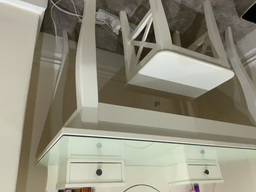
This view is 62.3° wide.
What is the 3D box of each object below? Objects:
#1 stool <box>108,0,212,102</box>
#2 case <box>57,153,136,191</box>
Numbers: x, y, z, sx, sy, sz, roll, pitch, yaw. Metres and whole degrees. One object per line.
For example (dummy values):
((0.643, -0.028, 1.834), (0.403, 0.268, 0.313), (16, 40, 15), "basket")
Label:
((0.140, -0.250, 1.080), (0.410, 0.460, 0.230), (9, 152, -27), "stool")
((-0.130, 0.320, 0.880), (0.280, 0.130, 0.140), (10, 151, -29), "case")
